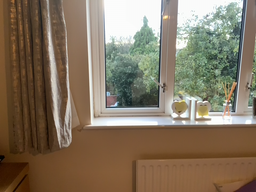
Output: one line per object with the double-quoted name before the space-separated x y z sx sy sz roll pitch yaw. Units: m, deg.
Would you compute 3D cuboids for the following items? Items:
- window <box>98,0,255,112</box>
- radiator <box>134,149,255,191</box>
"window" 0.630 -0.420 1.660 1.690 1.060 0.080 -1 12 -6
"radiator" 0.630 0.670 1.580 1.160 0.520 0.090 -1 12 -5
